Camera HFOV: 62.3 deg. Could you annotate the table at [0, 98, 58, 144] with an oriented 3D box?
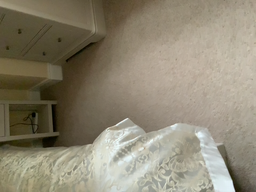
[{"bbox_3d":[-1.080,0.250,2.030,0.450,0.630,0.370,-16,77,45],"label":"table"}]
